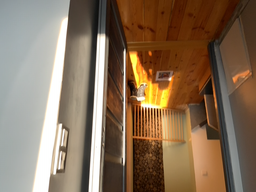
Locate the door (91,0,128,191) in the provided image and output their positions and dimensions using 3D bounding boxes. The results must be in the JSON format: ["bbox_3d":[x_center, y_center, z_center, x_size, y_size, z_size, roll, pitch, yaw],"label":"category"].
[{"bbox_3d":[-0.080,0.280,1.400,0.100,1.900,0.820,-1,162,4],"label":"door"}]
